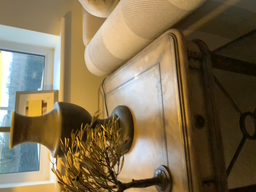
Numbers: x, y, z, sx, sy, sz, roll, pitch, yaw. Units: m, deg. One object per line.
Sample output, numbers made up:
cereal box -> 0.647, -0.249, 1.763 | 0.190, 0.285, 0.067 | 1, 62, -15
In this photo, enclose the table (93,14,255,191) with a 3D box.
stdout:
table -> 0.250, 0.160, 1.010 | 0.710, 0.610, 0.630 | -23, 66, 58
